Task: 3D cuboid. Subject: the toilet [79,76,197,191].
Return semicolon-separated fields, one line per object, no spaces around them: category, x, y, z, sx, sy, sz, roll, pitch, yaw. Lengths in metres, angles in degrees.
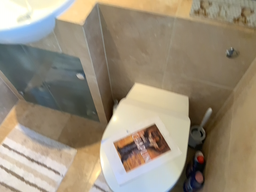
toilet;0.080;0.290;1.150;0.390;0.450;0.570;15;59;10
